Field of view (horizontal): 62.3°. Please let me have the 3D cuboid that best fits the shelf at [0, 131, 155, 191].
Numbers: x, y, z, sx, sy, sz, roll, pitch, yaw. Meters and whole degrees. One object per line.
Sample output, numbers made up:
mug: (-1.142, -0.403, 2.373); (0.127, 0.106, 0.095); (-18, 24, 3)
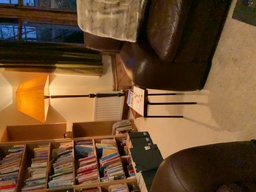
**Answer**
shelf: (-0.770, 0.930, 2.880); (0.860, 2.060, 0.310); (-115, 30, -55)
